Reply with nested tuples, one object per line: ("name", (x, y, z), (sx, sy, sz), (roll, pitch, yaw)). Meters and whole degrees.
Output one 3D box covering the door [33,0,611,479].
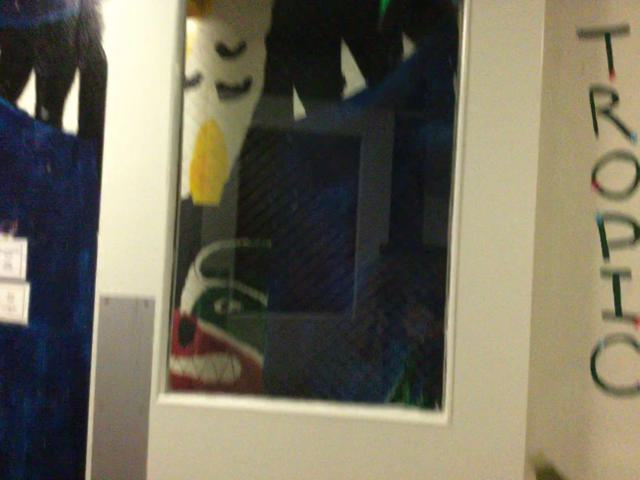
("door", (-0.050, 0.440, 1.000), (0.850, 2.140, 0.270), (4, 1, 17))
